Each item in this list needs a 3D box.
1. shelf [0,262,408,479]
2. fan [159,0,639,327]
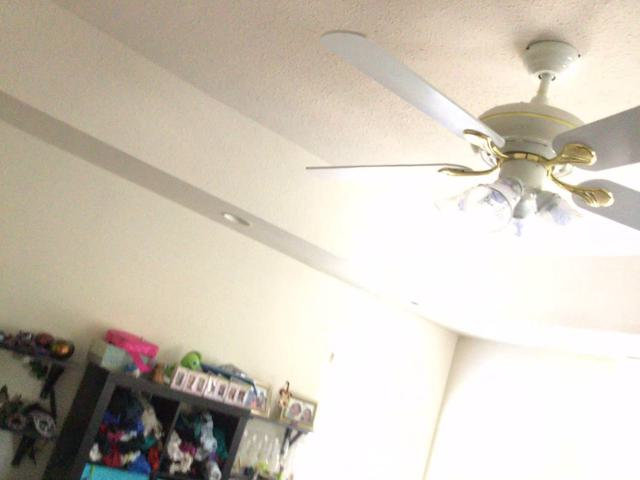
[{"bbox_3d":[-0.940,1.290,2.740,2.750,1.680,0.640,28,-23,-29],"label":"shelf"},{"bbox_3d":[0.450,-0.190,1.520,1.250,0.420,1.290,28,-23,-29],"label":"fan"}]
